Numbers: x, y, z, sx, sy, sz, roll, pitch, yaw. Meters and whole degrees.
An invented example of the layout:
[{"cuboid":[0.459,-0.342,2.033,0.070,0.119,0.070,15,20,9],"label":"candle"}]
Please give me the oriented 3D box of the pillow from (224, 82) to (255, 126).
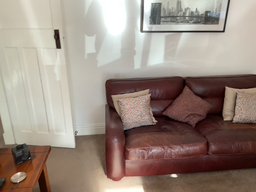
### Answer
[{"cuboid":[1.400,0.090,2.520,0.370,0.370,0.210,-19,20,5],"label":"pillow"}]
